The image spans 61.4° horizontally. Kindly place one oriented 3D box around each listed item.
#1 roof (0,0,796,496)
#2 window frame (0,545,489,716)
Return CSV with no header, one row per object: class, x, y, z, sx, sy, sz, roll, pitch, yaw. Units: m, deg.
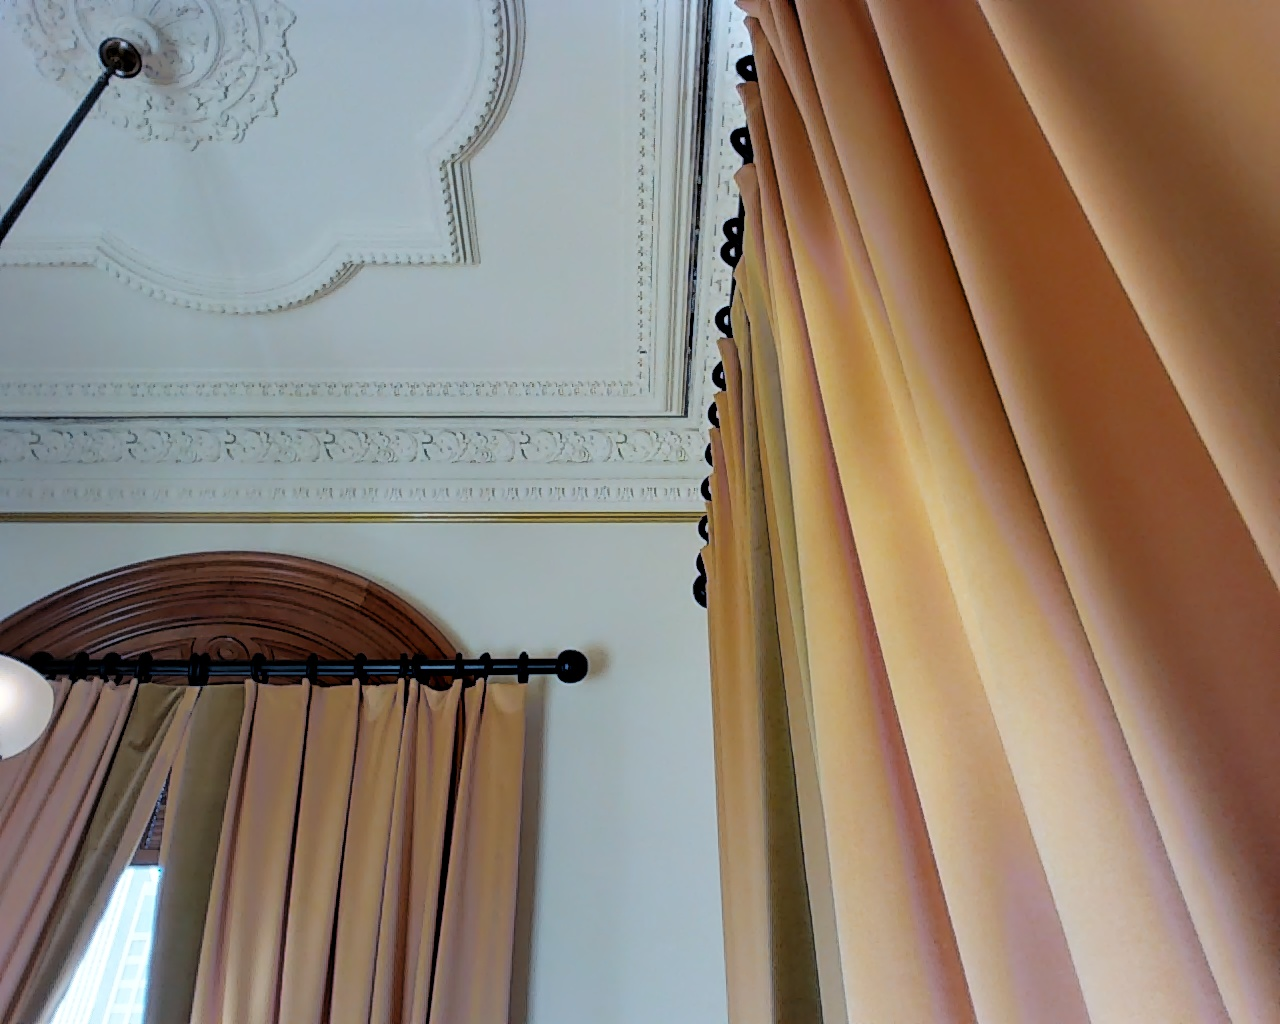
roof,-1.279,-1.270,2.910,3.339,0.350,3.201,-1,-41,1
window frame,-1.359,0.400,3.690,1.609,0.530,0.240,0,-41,0
